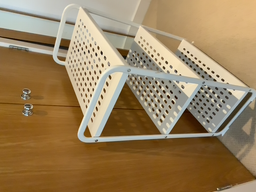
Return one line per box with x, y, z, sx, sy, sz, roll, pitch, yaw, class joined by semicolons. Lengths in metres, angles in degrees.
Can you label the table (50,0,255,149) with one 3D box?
0.120;-0.110;1.130;0.620;0.870;0.360;55;130;44;table
